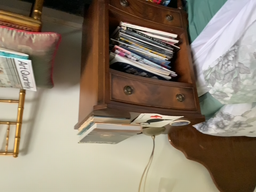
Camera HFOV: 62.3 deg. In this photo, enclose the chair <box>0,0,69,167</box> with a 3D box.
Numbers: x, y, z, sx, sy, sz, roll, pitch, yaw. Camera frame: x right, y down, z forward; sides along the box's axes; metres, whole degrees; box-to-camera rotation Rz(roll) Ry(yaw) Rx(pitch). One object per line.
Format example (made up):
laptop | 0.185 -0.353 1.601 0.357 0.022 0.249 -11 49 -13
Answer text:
chair | -0.530 -0.190 0.820 0.510 0.870 0.390 7 158 -23
